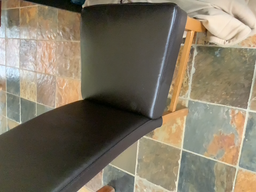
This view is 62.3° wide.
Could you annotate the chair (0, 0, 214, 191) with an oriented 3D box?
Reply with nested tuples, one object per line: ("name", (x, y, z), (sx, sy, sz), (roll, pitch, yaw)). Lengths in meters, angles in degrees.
("chair", (-0.090, -0.070, 0.910), (0.510, 1.100, 0.650), (14, 104, 33))
